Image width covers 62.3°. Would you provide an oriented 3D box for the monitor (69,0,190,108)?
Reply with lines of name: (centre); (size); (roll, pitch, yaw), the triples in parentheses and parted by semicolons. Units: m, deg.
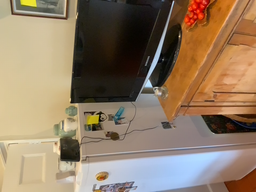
monitor: (-0.040, -0.190, 1.170); (0.730, 0.500, 0.040); (110, 153, -42)
